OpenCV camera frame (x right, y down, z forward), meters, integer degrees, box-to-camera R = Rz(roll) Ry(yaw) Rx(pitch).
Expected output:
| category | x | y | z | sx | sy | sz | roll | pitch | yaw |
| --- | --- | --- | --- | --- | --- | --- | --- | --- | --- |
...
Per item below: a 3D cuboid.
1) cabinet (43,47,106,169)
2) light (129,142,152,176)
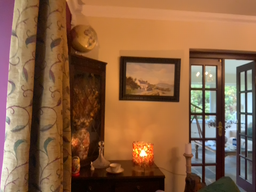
| category | x | y | z | sx | sy | sz | roll | pitch | yaw |
| --- | --- | --- | --- | --- | --- | --- | --- | --- | --- |
| cabinet | -0.550 | 0.120 | 2.290 | 0.310 | 1.130 | 0.560 | 0 | -2 | 34 |
| light | 0.120 | 0.630 | 2.150 | 0.200 | 0.290 | 0.180 | 2 | -2 | -7 |
